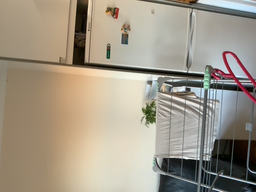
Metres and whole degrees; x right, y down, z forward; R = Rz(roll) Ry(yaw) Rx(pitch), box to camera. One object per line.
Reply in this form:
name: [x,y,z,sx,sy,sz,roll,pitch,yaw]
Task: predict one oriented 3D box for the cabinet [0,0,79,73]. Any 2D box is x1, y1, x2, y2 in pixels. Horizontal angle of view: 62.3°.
cabinet: [-0.810,-0.570,1.790,0.600,0.720,0.630,-177,91,-78]
